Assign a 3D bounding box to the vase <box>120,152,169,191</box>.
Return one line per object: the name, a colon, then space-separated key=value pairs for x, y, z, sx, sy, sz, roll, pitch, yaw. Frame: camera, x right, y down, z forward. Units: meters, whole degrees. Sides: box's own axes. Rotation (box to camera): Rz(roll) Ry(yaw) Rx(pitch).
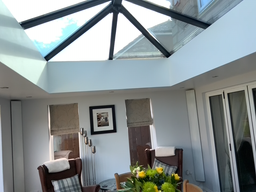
vase: x=0.130 y=0.770 z=1.720 sx=0.320 sy=0.550 sz=0.290 roll=-4 pitch=-5 yaw=-8
